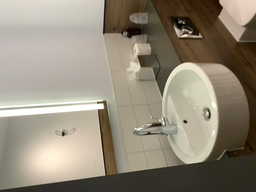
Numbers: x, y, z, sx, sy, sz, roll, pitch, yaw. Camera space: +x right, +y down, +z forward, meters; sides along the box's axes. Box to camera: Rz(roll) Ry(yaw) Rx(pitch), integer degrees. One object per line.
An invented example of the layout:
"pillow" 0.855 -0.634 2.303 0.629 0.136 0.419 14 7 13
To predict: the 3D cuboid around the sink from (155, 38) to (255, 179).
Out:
"sink" 0.340 0.070 0.990 0.480 0.200 0.450 103 158 -52
